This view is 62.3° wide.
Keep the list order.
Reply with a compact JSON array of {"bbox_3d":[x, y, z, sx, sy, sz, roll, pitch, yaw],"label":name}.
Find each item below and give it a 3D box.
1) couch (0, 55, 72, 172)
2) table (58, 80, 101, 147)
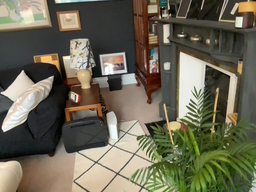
[{"bbox_3d":[-1.840,0.210,2.390,2.150,0.890,1.090,-8,23,-8],"label":"couch"},{"bbox_3d":[-0.600,0.180,2.730,0.390,0.490,0.810,-8,23,-8],"label":"table"}]
